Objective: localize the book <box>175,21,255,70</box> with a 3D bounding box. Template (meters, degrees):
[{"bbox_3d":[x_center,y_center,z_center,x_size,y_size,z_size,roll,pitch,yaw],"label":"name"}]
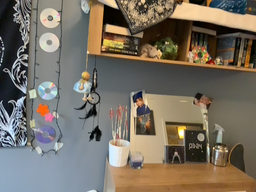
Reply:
[{"bbox_3d":[0.670,-0.320,1.440,0.590,0.230,0.280,4,8,-13],"label":"book"}]
